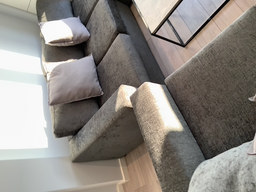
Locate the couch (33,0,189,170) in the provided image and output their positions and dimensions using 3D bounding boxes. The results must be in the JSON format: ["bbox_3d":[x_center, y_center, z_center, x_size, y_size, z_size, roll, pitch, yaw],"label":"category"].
[{"bbox_3d":[-0.440,-0.520,2.460,1.140,0.830,2.290,-45,51,38],"label":"couch"}]
